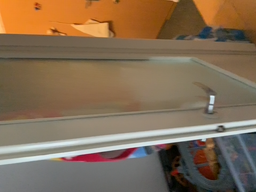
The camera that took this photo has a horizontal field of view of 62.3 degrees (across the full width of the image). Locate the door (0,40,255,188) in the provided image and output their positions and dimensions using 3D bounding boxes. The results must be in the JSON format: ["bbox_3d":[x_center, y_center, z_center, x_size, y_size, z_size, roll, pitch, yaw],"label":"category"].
[{"bbox_3d":[0.190,-0.080,0.990,0.900,2.080,0.140,-130,41,-60],"label":"door"}]
